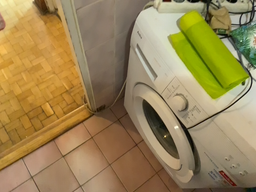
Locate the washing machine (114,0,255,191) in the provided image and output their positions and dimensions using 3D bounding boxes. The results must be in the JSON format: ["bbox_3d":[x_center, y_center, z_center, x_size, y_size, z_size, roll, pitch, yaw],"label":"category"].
[{"bbox_3d":[0.300,0.050,1.010,0.470,0.850,0.630,-29,72,-15],"label":"washing machine"}]
